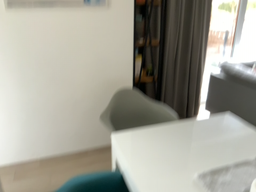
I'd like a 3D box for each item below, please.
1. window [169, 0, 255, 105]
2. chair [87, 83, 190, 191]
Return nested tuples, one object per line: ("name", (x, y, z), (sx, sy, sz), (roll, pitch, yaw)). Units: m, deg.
("window", (1.750, -1.110, 3.520), (1.970, 2.280, 0.440), (-8, 23, -20))
("chair", (0.050, 0.400, 1.830), (0.610, 0.810, 0.600), (-9, 24, -23))
